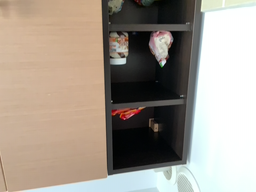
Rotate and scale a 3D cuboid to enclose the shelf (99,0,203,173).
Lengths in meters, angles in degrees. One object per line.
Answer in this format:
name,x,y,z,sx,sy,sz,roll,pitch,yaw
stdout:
shelf,0.050,-0.130,0.780,0.270,0.710,0.300,-3,-163,-13
